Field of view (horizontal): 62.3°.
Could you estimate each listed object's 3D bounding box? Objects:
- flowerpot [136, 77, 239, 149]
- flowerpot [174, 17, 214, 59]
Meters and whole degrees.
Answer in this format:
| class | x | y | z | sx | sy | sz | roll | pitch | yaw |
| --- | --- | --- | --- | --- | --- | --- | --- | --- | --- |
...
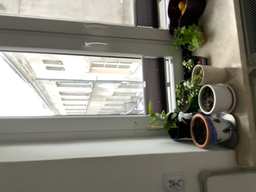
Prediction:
| class | x | y | z | sx | sy | sz | roll | pitch | yaw |
| --- | --- | --- | --- | --- | --- | --- | --- | --- | --- |
| flowerpot | 0.260 | 0.090 | 1.070 | 0.400 | 0.340 | 0.280 | 155 | 115 | -75 |
| flowerpot | 0.370 | -0.320 | 1.210 | 0.190 | 0.140 | 0.170 | 168 | 103 | -76 |
